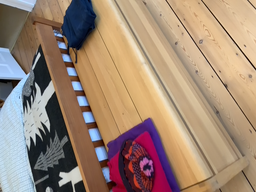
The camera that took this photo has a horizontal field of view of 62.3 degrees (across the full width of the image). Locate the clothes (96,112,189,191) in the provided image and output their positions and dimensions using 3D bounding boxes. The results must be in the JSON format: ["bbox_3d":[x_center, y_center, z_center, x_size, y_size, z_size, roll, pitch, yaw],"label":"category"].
[{"bbox_3d":[0.040,0.300,0.960,0.350,0.090,0.310,-43,62,34],"label":"clothes"}]

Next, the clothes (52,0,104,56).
[{"bbox_3d":[-0.330,-0.490,1.330,0.350,0.070,0.320,-41,63,34],"label":"clothes"}]
